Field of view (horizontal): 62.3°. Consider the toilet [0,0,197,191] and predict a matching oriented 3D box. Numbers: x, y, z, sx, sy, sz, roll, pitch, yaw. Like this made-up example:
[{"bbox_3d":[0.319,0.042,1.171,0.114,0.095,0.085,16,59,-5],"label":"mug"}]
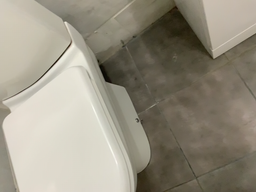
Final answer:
[{"bbox_3d":[-0.200,0.080,0.650,0.390,0.810,0.670,-33,69,18],"label":"toilet"}]
